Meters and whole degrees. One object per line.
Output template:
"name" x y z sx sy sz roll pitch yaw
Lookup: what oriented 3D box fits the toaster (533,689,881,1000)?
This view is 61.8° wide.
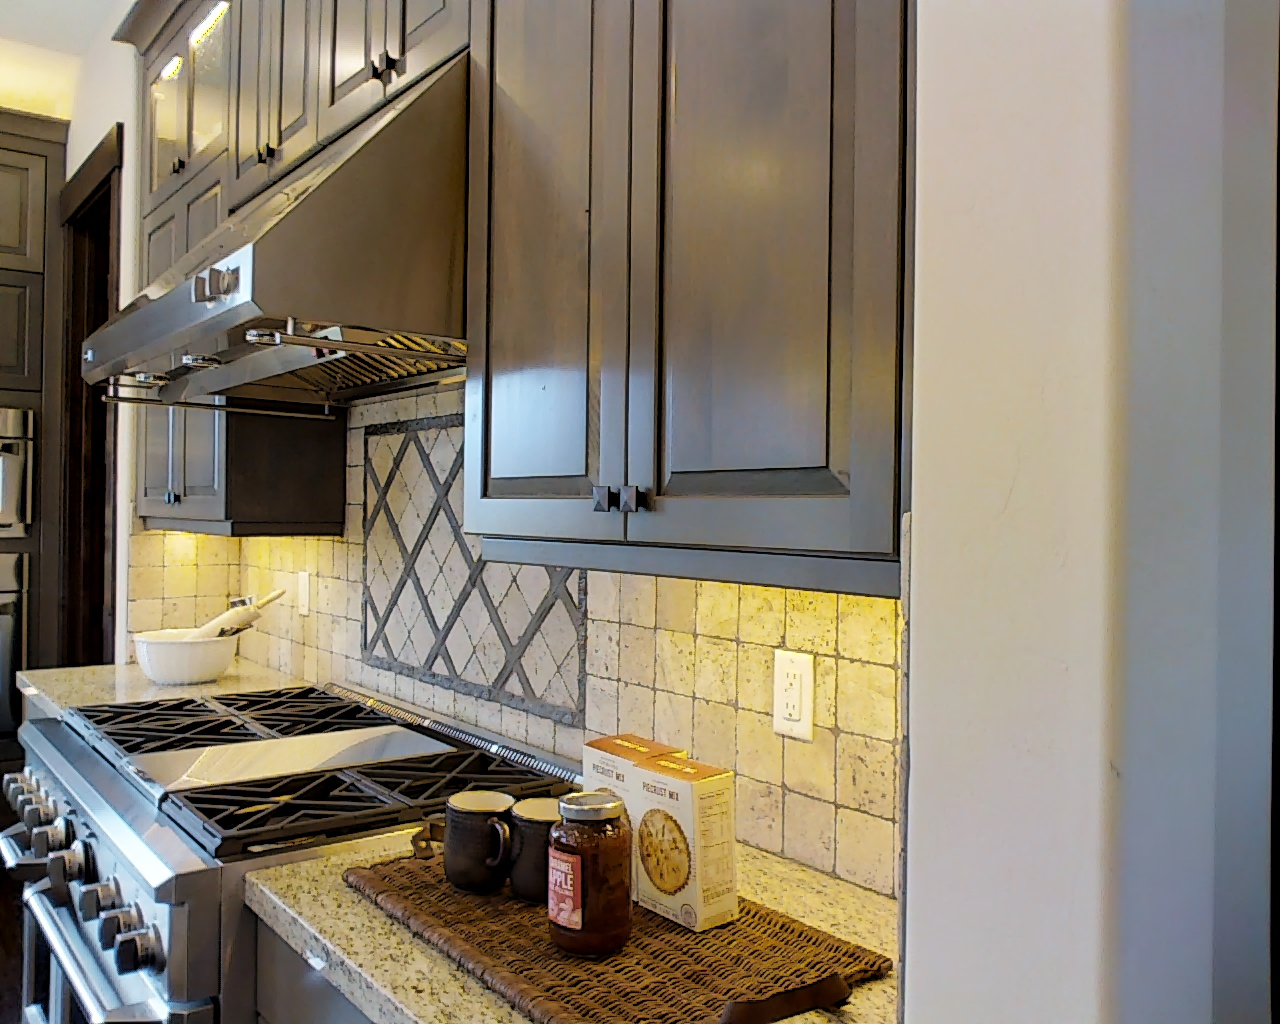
"toaster" 0.060 0.360 1.260 0.160 0.230 0.430 1 0 -38
